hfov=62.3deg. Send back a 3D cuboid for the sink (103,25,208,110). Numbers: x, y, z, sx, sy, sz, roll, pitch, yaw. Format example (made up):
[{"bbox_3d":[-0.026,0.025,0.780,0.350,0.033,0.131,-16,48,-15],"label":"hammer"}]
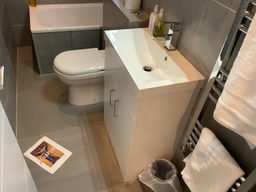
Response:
[{"bbox_3d":[0.110,-0.210,1.230,0.360,0.130,0.620,-10,44,-18],"label":"sink"}]

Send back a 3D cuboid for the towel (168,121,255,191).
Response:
[{"bbox_3d":[0.380,0.410,1.060,0.120,0.510,0.280,-13,45,-21],"label":"towel"}]

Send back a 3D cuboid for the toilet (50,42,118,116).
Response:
[{"bbox_3d":[-0.410,-0.170,1.980,0.510,0.470,0.420,-10,44,-18],"label":"toilet"}]

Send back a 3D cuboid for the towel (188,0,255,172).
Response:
[{"bbox_3d":[0.420,-0.040,0.690,0.150,0.490,0.320,-13,45,-22],"label":"towel"}]
